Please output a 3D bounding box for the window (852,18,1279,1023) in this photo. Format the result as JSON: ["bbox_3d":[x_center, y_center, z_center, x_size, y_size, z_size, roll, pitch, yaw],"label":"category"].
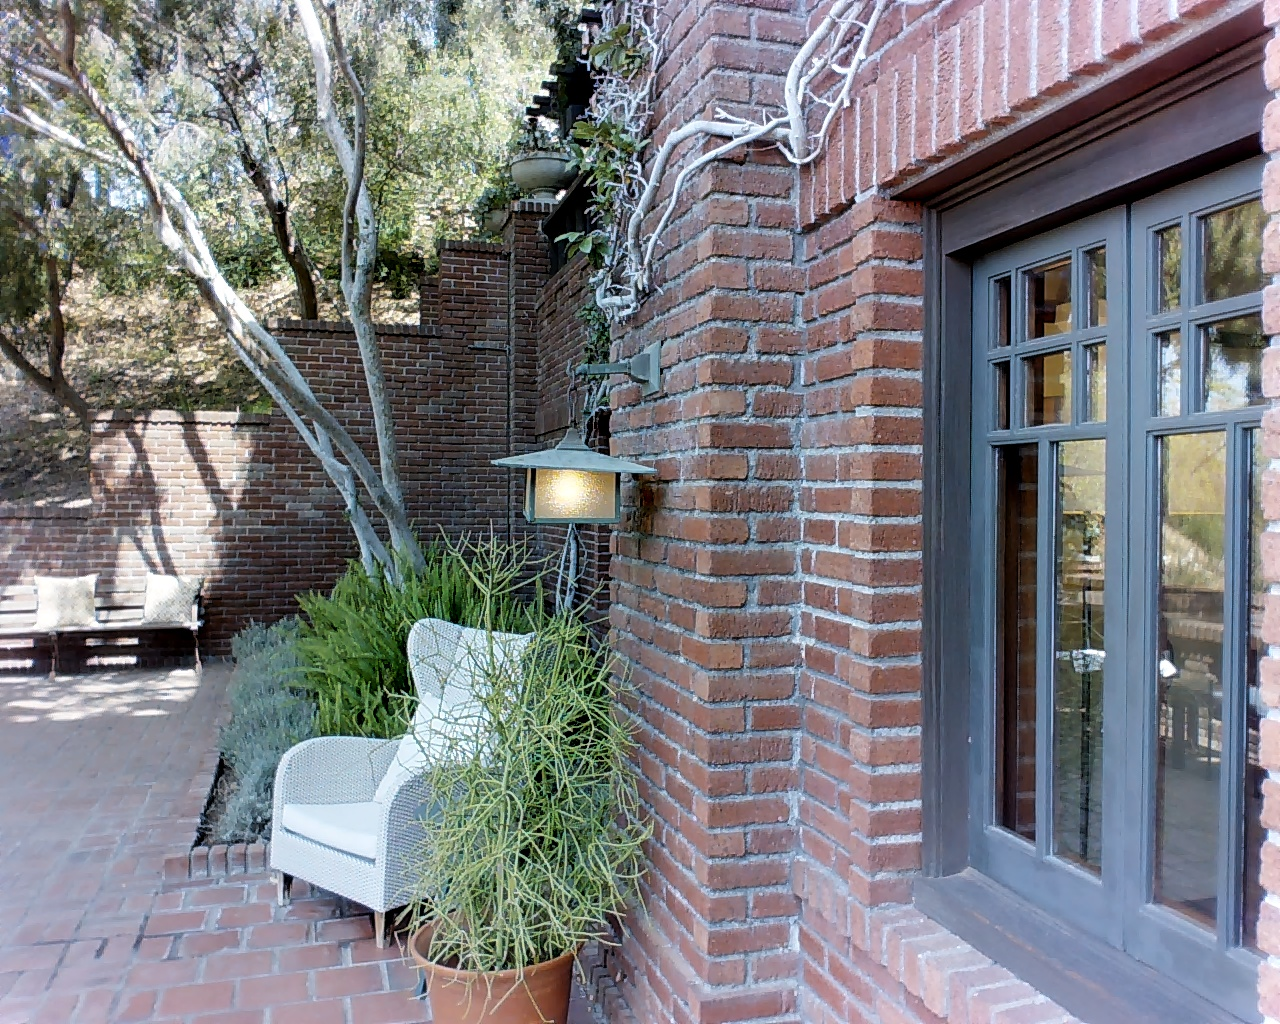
[{"bbox_3d":[0.730,0.220,1.800,0.300,1.610,1.010,0,1,-16],"label":"window"}]
